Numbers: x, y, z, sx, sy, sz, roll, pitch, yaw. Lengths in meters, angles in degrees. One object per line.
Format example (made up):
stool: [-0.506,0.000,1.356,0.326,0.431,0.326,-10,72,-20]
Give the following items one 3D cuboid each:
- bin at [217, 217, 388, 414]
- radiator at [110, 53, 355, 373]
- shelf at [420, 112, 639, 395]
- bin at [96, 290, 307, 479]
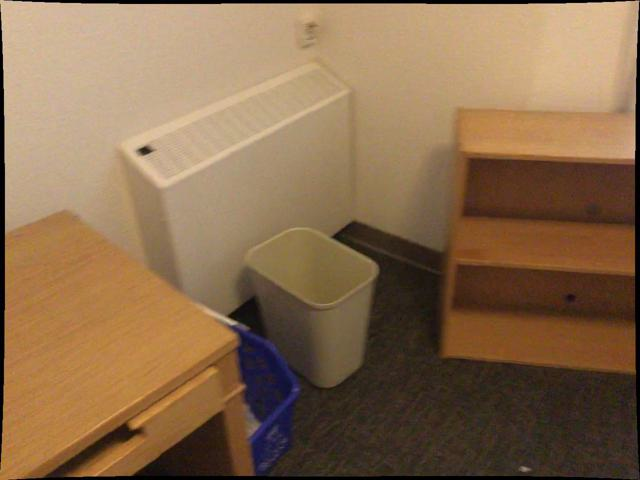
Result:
bin: [-0.050,0.230,1.860,0.410,0.400,0.320,21,41,27]
radiator: [-0.220,-0.130,2.030,0.230,0.771,0.900,21,41,27]
shelf: [0.829,0.050,1.790,0.958,0.711,0.450,4,36,6]
bin: [-0.309,0.431,1.590,0.450,0.340,0.300,21,41,27]
